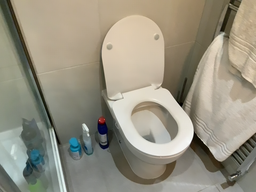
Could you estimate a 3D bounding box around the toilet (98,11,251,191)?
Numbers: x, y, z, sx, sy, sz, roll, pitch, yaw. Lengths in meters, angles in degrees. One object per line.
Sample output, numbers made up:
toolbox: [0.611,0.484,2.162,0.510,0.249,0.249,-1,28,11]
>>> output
toilet: [0.130,0.090,1.140,0.380,0.840,0.540,-15,46,-17]
